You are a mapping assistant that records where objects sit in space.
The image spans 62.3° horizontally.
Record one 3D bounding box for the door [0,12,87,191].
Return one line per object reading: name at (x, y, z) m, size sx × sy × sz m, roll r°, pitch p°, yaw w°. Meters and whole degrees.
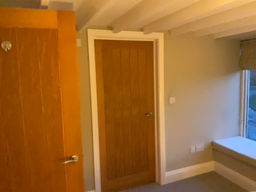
door at (-0.710, 0.450, 1.390) m, size 0.850 × 1.910 × 0.050 m, roll -4°, pitch 7°, yaw -20°
